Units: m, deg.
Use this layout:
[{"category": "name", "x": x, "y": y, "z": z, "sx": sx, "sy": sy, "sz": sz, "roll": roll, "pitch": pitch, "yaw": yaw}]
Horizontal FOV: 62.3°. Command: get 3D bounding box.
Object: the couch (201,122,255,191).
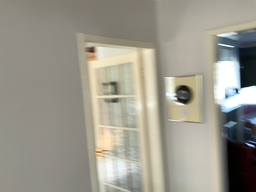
[{"category": "couch", "x": 1.590, "y": 0.890, "z": 2.930, "sx": 0.790, "sy": 0.850, "sz": 0.800, "roll": -5, "pitch": 4, "yaw": -4}]
